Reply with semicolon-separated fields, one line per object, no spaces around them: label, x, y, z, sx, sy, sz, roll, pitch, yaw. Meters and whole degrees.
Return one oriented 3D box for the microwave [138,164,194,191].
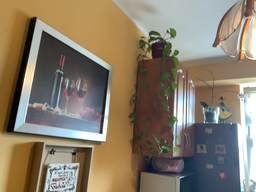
microwave;0.320;0.740;1.670;0.280;0.340;0.510;-3;-14;30
